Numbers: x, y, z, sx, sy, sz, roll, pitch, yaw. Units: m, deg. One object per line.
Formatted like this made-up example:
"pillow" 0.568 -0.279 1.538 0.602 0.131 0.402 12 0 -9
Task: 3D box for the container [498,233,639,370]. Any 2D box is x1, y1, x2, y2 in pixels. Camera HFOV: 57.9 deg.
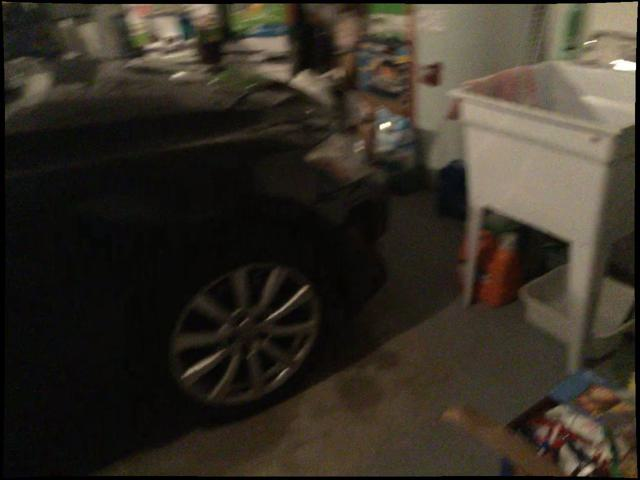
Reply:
"container" 0.929 0.190 2.010 0.430 0.160 0.400 -22 33 -25
